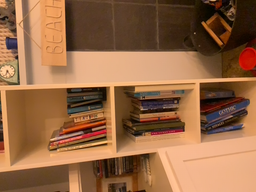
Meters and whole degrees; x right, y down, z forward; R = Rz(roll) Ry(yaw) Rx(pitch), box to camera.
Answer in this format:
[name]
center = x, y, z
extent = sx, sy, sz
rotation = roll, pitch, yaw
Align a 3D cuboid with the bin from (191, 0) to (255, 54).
[bin]
center = 0.620, -0.480, 1.240
extent = 0.410, 0.290, 0.400
rotation = -174, 81, -73
